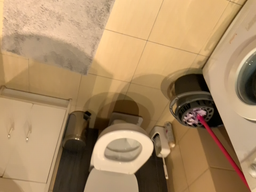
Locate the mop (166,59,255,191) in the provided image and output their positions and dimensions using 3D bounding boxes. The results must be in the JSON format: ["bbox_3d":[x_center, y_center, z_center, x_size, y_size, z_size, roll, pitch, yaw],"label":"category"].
[{"bbox_3d":[0.650,0.270,1.180,0.690,0.990,0.250,14,132,-15],"label":"mop"}]
